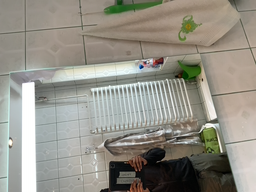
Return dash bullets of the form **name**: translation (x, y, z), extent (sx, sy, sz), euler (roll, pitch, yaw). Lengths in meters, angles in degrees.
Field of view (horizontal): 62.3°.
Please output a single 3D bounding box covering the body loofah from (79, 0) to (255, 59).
- **body loofah**: translation (0.200, -0.360, 0.950), extent (0.150, 0.800, 0.270), euler (103, 159, -71)
